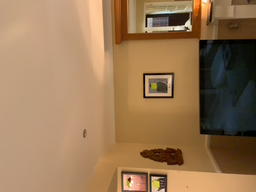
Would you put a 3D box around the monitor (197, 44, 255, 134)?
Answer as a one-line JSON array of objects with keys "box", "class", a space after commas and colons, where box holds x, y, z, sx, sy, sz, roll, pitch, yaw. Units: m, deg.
[{"box": [1.080, -0.090, 2.220, 0.090, 0.670, 0.930, 55, -143, -77], "class": "monitor"}]
